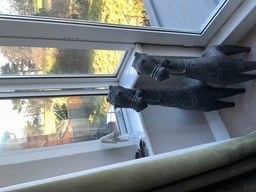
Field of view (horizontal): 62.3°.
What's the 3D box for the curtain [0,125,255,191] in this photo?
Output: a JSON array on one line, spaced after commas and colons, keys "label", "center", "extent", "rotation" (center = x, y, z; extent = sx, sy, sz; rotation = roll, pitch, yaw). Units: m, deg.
[{"label": "curtain", "center": [-0.140, 0.450, 1.080], "extent": [0.500, 2.360, 0.240], "rotation": [123, 138, -53]}]
